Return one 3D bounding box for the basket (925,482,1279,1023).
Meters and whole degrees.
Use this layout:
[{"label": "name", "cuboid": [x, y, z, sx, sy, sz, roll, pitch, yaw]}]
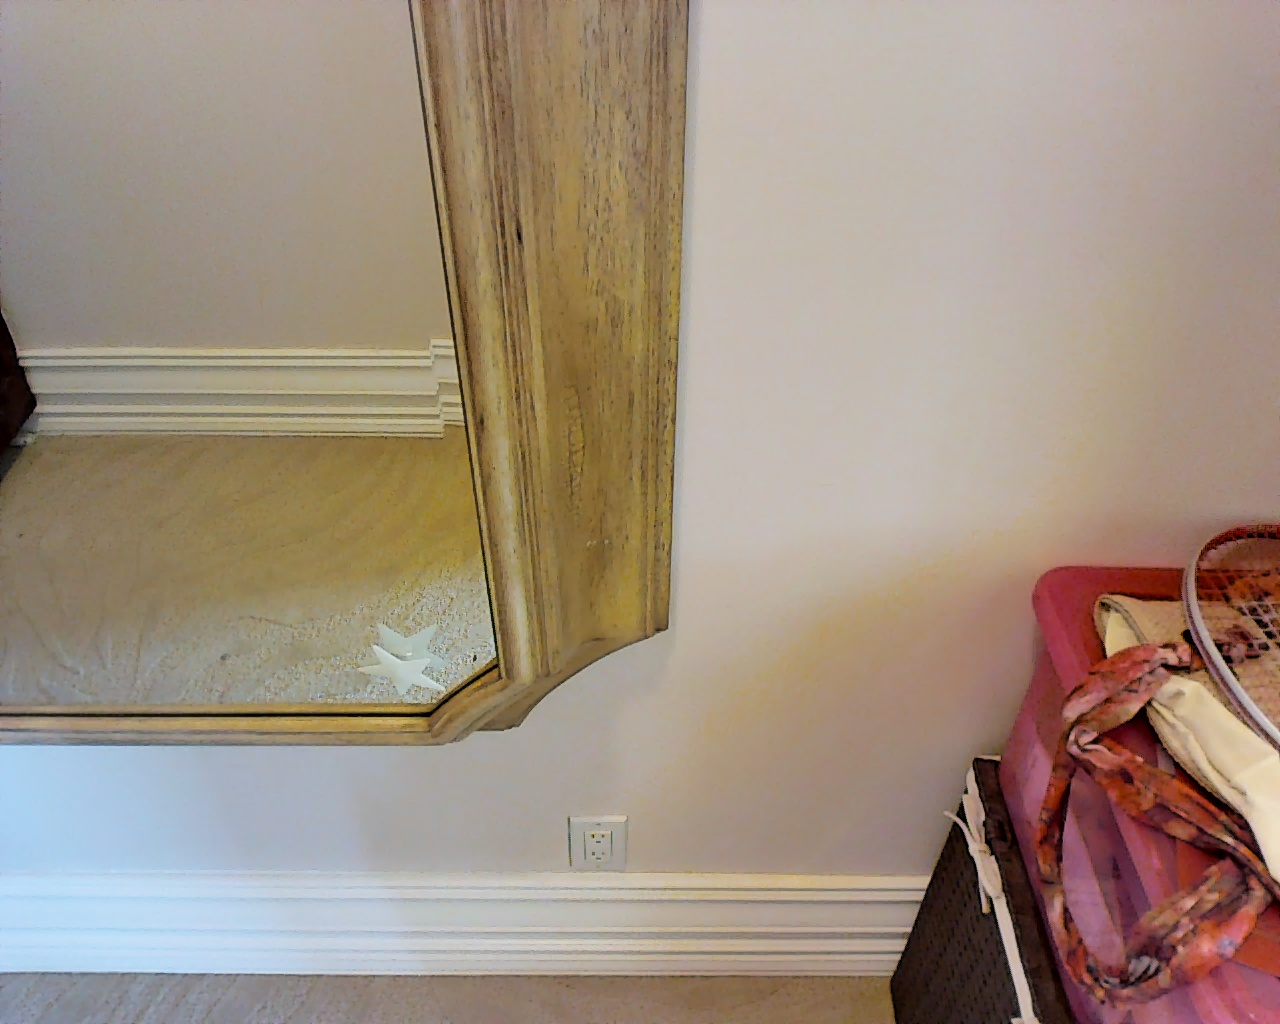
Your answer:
[{"label": "basket", "cuboid": [0.510, 0.280, 0.830, 0.410, 0.340, 0.540, 0, 41, 0]}]
